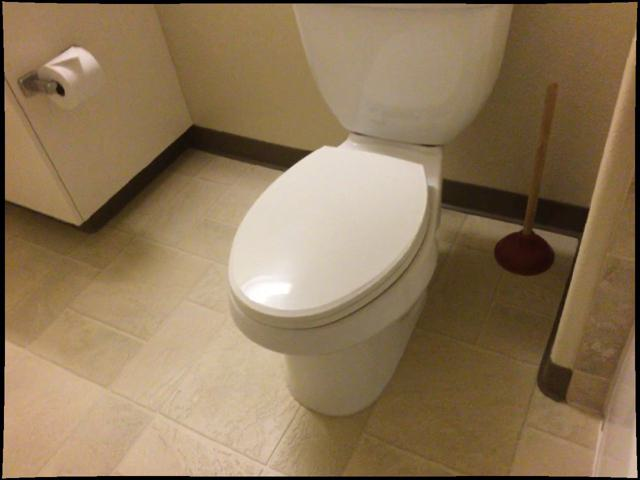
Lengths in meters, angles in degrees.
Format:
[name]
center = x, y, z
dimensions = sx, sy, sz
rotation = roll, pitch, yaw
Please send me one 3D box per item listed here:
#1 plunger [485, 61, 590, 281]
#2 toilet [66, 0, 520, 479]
[plunger]
center = 0.519, -0.150, 1.410
dimensions = 0.150, 0.511, 0.180
rotation = 14, 49, 23
[toilet]
center = 0.070, -0.100, 1.240
dimensions = 0.479, 0.791, 0.781
rotation = 14, 49, 23
